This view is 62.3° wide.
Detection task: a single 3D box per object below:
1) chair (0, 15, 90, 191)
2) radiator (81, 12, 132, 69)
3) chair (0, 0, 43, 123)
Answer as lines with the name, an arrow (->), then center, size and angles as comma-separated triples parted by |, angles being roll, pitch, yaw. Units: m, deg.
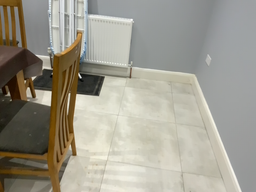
chair -> -0.590, 0.120, 1.300 | 0.600, 1.020, 0.540 | 7, 33, 0
radiator -> -0.280, -0.670, 2.640 | 0.580, 0.630, 0.070 | 8, 33, 2
chair -> -1.160, -0.350, 1.920 | 0.440, 1.000, 0.600 | 5, 33, -2
